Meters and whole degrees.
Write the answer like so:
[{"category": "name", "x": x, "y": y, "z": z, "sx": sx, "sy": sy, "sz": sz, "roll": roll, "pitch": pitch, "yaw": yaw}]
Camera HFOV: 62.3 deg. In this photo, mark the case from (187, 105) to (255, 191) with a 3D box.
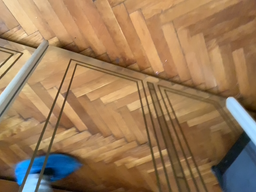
[{"category": "case", "x": 0.680, "y": 0.500, "z": 1.110, "sx": 0.320, "sy": 0.700, "sz": 0.540, "roll": 14, "pitch": 122, "yaw": -14}]
